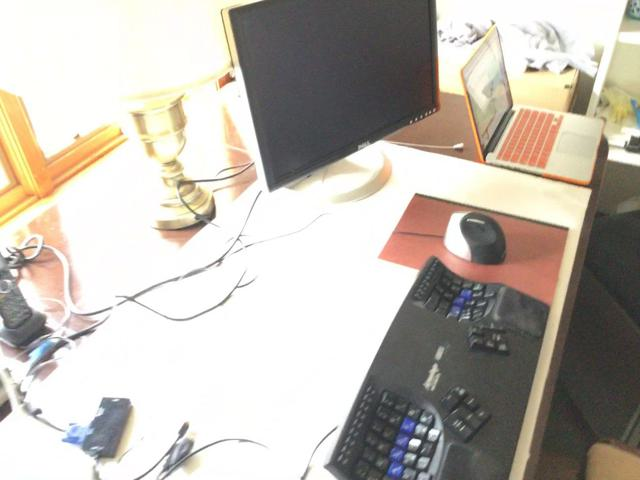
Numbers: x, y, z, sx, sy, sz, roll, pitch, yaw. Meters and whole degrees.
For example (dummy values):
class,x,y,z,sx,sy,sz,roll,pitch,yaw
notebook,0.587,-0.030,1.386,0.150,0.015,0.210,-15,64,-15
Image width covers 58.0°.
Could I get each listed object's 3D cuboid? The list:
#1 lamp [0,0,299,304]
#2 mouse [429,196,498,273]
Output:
class,x,y,z,sx,sy,sz,roll,pitch,yaw
lamp,-0.300,-0.310,0.960,0.370,0.650,0.410,17,44,19
mouse,0.250,-0.010,1.010,0.090,0.090,0.070,17,44,19
